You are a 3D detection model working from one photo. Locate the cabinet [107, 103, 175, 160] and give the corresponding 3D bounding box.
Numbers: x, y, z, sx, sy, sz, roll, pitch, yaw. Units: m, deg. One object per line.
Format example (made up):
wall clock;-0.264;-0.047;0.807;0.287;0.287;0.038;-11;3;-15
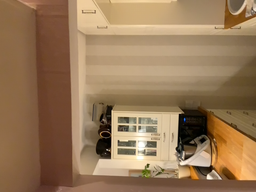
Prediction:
cabinet;0.160;0.450;2.820;0.400;0.830;0.650;-80;-9;-82
